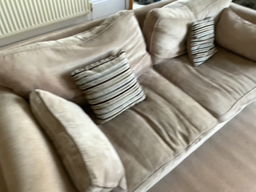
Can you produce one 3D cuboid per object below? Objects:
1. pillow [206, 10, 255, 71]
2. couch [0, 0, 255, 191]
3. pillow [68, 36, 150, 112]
[{"bbox_3d":[0.960,-0.480,1.840,0.140,0.310,0.560,-41,56,-10],"label":"pillow"},{"bbox_3d":[0.290,-0.170,1.650,2.320,0.840,1.070,-27,50,-27],"label":"couch"},{"bbox_3d":[-0.100,-0.110,1.320,0.130,0.400,0.360,39,100,32],"label":"pillow"}]
